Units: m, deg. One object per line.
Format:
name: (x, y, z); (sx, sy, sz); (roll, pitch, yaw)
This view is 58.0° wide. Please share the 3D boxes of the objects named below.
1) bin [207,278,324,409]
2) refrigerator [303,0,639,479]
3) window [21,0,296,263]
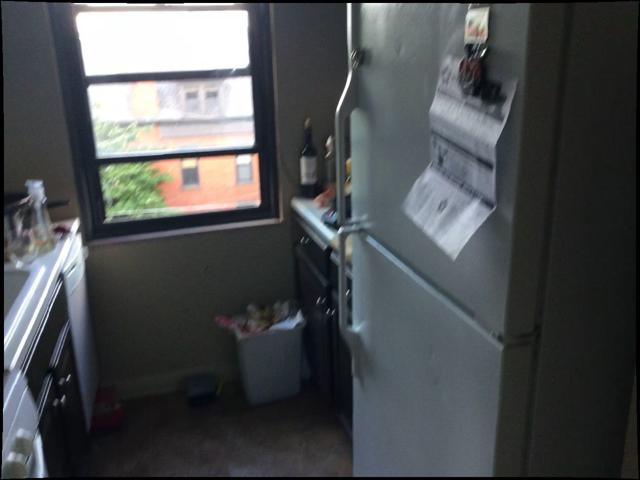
bin: (-0.249, 0.461, 2.640); (0.449, 0.431, 0.290); (-8, 20, -14)
refrigerator: (0.489, 0.150, 1.290); (0.808, 1.854, 0.750); (-8, 20, -14)
window: (-0.638, -0.501, 2.520); (0.968, 1.052, 0.230); (-8, 20, -14)
